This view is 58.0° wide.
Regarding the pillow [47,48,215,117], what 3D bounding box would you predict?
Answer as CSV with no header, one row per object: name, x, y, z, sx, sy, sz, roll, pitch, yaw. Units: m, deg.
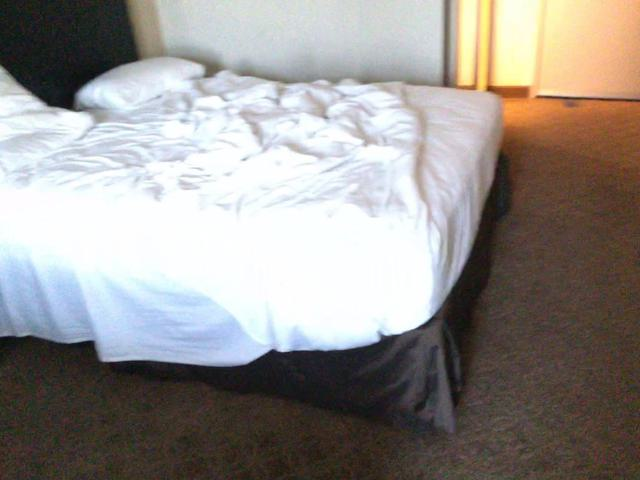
pillow,-0.920,-0.810,2.920,0.480,0.180,0.680,5,29,18
